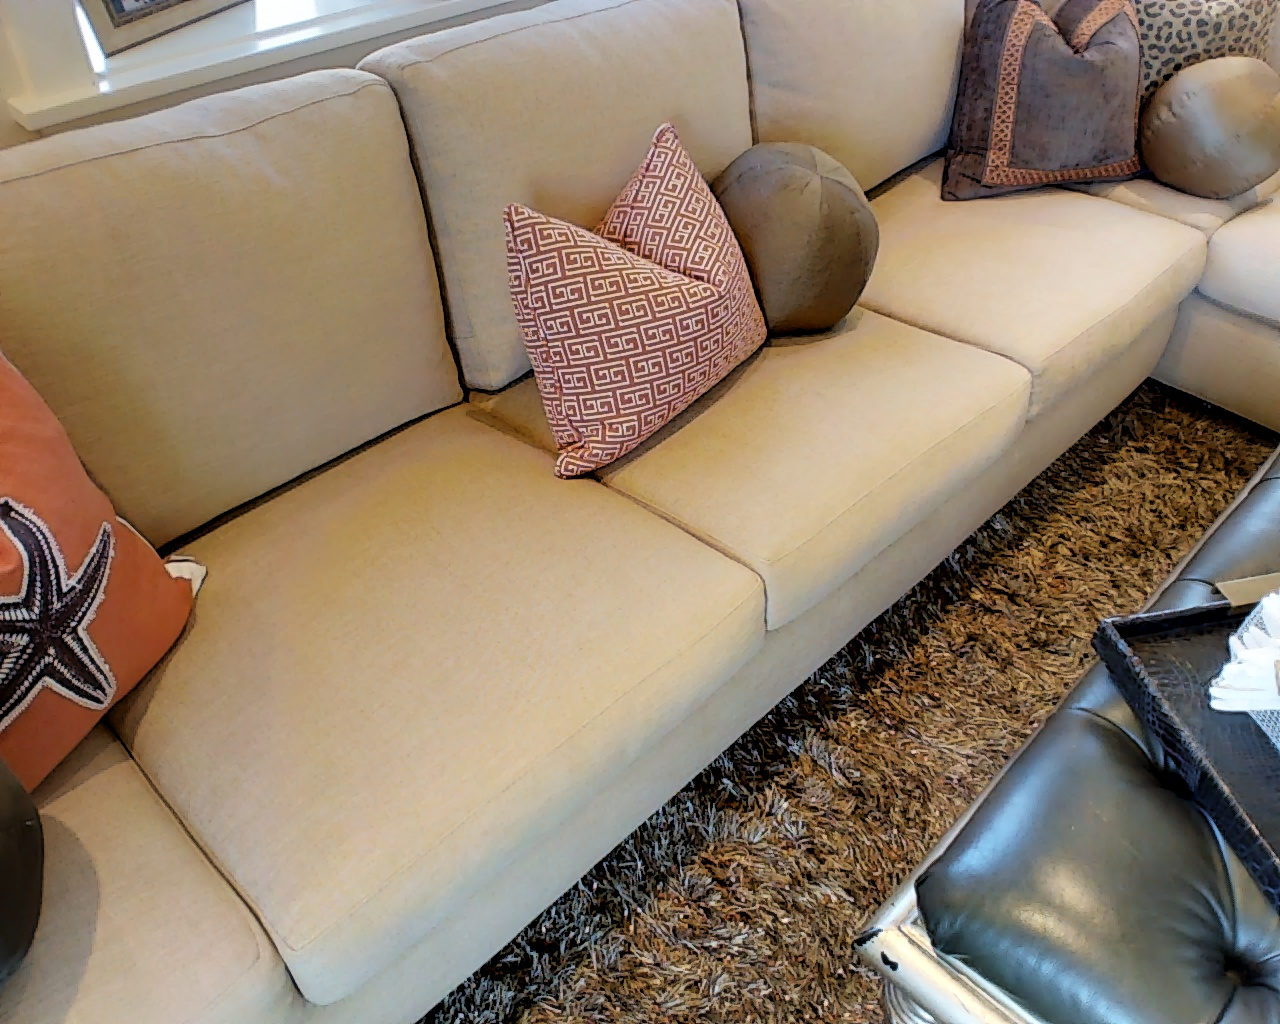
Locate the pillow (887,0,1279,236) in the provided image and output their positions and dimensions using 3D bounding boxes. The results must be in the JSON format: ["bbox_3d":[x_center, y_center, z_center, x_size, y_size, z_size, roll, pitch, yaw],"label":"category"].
[{"bbox_3d":[0.930,-0.910,2.300,0.570,0.520,0.260,2,55,-15],"label":"pillow"}]

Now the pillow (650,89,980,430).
[{"bbox_3d":[0.290,-0.460,1.900,0.380,0.380,0.380,-31,51,-31],"label":"pillow"}]

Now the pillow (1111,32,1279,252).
[{"bbox_3d":[1.290,-0.810,2.340,0.360,0.320,0.360,8,42,7],"label":"pillow"}]

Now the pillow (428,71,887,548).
[{"bbox_3d":[0.010,-0.320,1.670,0.350,0.450,0.540,44,56,17],"label":"pillow"}]
